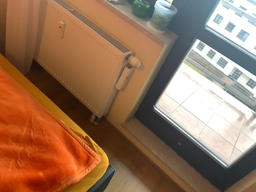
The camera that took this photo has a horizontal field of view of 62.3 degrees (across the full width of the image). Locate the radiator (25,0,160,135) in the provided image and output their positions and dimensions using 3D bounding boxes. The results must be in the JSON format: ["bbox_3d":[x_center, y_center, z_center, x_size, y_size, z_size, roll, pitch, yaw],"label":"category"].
[{"bbox_3d":[-0.350,-0.290,1.530,0.950,0.770,0.160,38,40,15],"label":"radiator"}]
